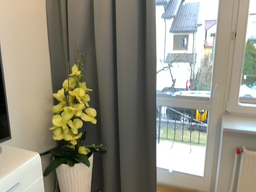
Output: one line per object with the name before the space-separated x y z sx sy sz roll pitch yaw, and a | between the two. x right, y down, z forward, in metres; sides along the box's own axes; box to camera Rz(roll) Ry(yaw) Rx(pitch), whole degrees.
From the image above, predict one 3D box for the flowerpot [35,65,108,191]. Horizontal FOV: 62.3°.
flowerpot | -0.460 0.430 1.940 0.400 1.370 0.450 4 14 15
